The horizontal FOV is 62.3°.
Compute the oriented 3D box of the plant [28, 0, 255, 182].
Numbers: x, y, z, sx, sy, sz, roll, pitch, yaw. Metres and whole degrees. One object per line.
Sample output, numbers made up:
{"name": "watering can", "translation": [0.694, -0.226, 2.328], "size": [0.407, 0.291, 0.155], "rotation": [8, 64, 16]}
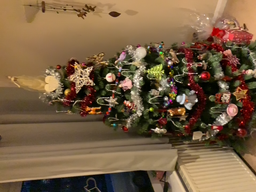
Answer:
{"name": "plant", "translation": [0.190, -0.080, 1.780], "size": [1.100, 1.690, 1.160], "rotation": [140, 127, -69]}
